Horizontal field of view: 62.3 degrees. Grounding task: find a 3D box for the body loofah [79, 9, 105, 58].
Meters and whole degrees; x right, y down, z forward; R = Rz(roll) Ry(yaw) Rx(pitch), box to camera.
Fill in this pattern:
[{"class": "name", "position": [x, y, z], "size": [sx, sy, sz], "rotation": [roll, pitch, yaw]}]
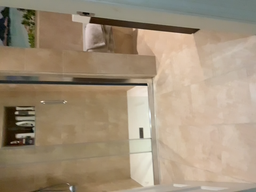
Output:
[{"class": "body loofah", "position": [-0.460, -0.750, 2.640], "size": [0.420, 0.250, 0.440], "rotation": [159, 110, -69]}]
